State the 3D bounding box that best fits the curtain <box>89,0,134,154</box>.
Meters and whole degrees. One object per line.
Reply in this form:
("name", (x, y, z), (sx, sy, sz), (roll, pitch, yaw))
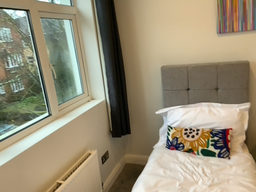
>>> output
("curtain", (-0.170, -0.420, 2.190), (0.160, 2.110, 0.300), (0, 17, 23))
